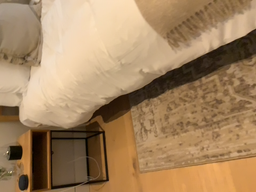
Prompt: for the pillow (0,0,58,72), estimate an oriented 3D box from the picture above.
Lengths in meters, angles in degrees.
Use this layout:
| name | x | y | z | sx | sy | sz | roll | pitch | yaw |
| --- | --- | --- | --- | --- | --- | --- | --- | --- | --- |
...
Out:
| name | x | y | z | sx | sy | sz | roll | pitch | yaw |
| --- | --- | --- | --- | --- | --- | --- | --- | --- | --- |
| pillow | -0.740 | -0.410 | 1.320 | 0.160 | 0.410 | 0.450 | -20 | 93 | 44 |
